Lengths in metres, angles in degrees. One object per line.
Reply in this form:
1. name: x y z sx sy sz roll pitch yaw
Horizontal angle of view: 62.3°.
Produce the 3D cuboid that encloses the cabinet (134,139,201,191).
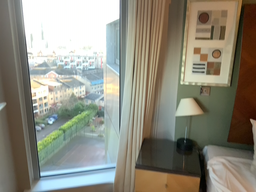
1. cabinet: 0.350 0.800 1.930 0.500 0.610 0.470 5 15 14
